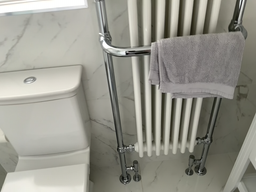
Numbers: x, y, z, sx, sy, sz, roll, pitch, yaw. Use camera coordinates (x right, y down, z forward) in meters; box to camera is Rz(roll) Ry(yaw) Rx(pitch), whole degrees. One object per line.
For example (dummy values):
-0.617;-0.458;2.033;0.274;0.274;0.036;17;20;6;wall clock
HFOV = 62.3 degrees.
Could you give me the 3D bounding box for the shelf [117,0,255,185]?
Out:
0.200;0.000;0.950;0.410;0.980;0.270;-5;39;0;shelf
